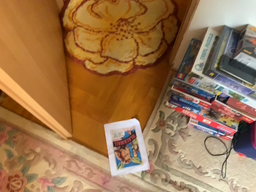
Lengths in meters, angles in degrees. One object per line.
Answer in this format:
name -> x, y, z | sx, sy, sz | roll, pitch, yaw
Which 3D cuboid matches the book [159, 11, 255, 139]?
book -> 0.440, -0.050, 1.040 | 0.420, 0.540, 0.250 | 26, 69, 9
